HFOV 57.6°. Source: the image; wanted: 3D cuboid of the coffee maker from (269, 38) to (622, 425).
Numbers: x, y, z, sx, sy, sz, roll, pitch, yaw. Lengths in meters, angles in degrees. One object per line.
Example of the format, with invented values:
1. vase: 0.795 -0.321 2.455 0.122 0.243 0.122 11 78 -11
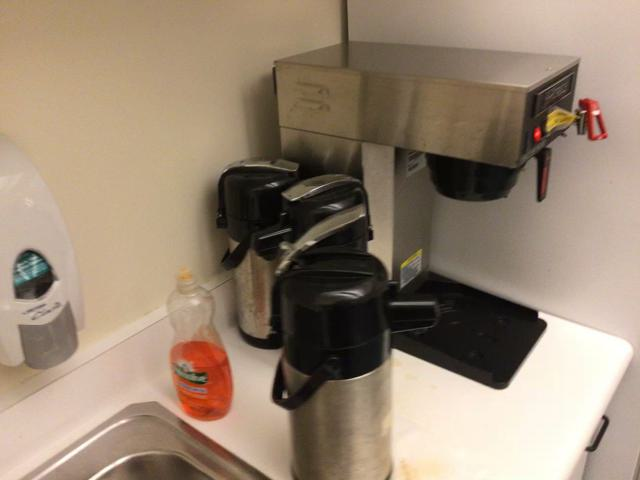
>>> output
1. coffee maker: 0.190 -0.050 0.970 0.420 0.480 0.290 20 36 38

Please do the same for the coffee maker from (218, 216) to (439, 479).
1. coffee maker: 0.020 0.170 0.710 0.180 0.330 0.160 20 36 38
